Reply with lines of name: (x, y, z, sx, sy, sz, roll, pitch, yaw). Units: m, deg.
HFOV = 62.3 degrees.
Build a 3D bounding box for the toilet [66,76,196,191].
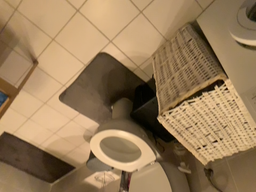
toilet: (0.050, 0.410, 1.410, 0.420, 0.800, 0.650, -36, 120, 27)
